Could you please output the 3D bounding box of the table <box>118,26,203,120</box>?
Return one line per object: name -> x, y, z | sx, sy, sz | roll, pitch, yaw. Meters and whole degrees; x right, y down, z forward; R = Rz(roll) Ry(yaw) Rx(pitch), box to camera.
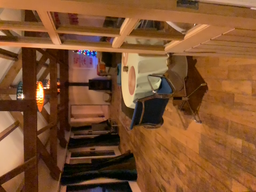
table -> 0.360, -0.380, 3.120 | 1.070, 0.770, 1.050 | -114, 27, -62
